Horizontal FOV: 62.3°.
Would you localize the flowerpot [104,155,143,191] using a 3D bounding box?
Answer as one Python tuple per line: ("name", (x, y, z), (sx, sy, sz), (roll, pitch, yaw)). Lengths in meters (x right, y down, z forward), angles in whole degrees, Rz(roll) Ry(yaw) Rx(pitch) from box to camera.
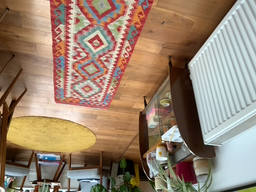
("flowerpot", (-0.100, 1.690, 3.750), (0.650, 1.090, 0.640), (2, 148, -5))
